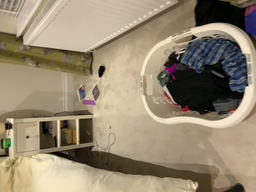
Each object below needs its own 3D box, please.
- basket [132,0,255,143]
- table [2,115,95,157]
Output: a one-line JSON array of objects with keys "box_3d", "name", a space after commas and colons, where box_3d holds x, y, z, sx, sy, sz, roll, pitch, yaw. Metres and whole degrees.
[{"box_3d": [0.350, -0.110, 1.140, 0.700, 0.260, 0.550, 3, 92, 52], "name": "basket"}, {"box_3d": [-0.840, 0.380, 2.250, 0.580, 0.780, 0.320, -6, 84, 52], "name": "table"}]
